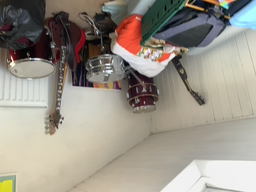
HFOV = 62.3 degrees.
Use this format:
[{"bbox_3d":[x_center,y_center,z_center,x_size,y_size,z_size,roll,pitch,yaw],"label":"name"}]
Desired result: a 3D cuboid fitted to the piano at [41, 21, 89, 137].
[{"bbox_3d":[-0.680,-0.170,2.250,0.420,1.160,0.240,2,165,-28],"label":"piano"}]
